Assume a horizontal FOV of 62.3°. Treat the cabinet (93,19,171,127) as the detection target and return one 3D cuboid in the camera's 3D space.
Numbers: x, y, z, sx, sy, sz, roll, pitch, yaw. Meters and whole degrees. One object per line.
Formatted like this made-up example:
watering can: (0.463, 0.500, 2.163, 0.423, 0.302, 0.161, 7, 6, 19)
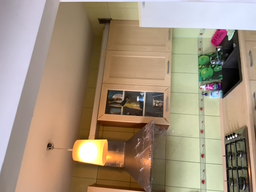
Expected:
cabinet: (0.080, -0.280, 2.430, 0.310, 0.750, 1.170, 78, -164, -71)
